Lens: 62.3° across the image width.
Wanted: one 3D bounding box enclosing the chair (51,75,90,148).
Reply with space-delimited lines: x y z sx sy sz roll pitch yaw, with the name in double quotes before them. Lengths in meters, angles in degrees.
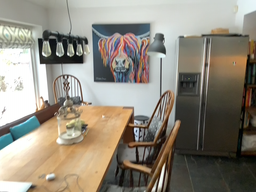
"chair" -0.990 0.230 3.640 0.540 1.100 0.520 -5 13 -20
